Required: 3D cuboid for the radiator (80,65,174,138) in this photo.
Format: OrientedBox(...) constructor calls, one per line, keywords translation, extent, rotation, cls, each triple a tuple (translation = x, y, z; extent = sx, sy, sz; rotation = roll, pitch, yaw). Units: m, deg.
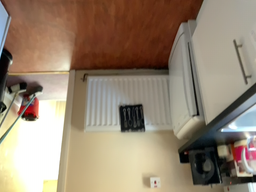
OrientedBox(translation=(-0.020, 0.040, 2.180), extent=(0.870, 0.740, 0.150), rotation=(-1, 156, -1), cls="radiator")
